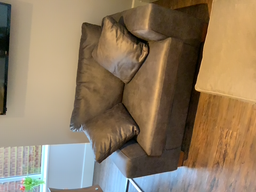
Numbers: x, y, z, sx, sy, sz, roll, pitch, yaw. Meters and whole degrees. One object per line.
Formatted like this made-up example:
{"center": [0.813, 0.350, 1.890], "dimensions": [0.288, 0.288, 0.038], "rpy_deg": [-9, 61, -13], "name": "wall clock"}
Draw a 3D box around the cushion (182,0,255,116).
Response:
{"center": [0.780, -0.300, 1.150], "dimensions": [1.070, 0.160, 0.820], "rpy_deg": [23, 108, 60], "name": "cushion"}
